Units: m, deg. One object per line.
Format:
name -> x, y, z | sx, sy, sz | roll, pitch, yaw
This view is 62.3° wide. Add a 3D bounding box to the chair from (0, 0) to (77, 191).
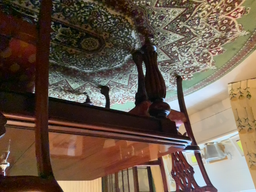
chair -> -0.580, -0.130, 0.770 | 0.560, 0.940, 0.570 | 16, 146, -36
